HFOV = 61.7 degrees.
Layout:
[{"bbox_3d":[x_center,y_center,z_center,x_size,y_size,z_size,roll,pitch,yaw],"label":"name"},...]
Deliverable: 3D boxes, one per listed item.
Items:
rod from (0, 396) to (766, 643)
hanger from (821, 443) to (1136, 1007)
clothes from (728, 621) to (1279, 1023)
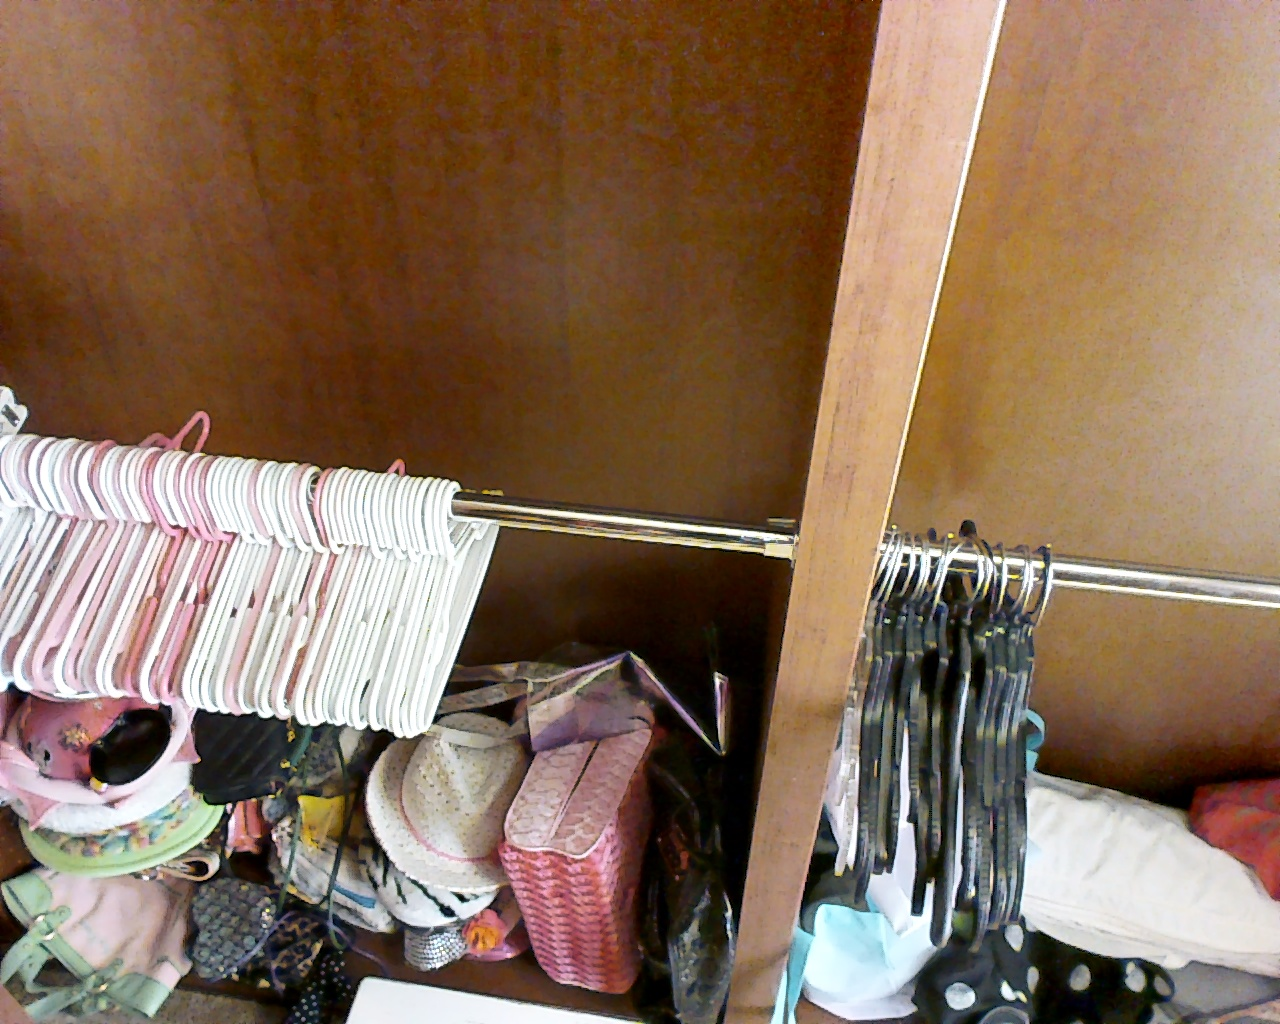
[{"bbox_3d":[-0.390,-0.010,1.010,1.000,0.120,0.100,6,42,6],"label":"rod"},{"bbox_3d":[0.280,0.170,0.990,0.190,0.220,0.450,6,42,6],"label":"hanger"},{"bbox_3d":[0.760,0.550,1.360,1.250,0.590,0.390,6,42,6],"label":"clothes"}]
